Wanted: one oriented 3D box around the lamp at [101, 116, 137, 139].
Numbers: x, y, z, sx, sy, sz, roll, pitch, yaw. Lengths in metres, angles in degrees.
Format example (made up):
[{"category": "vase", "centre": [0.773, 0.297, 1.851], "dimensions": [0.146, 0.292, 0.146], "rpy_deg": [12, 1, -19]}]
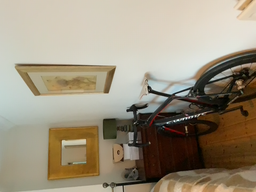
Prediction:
[{"category": "lamp", "centre": [-0.130, 0.440, 2.980], "dimensions": [0.190, 0.460, 0.260], "rpy_deg": [115, 151, -66]}]
